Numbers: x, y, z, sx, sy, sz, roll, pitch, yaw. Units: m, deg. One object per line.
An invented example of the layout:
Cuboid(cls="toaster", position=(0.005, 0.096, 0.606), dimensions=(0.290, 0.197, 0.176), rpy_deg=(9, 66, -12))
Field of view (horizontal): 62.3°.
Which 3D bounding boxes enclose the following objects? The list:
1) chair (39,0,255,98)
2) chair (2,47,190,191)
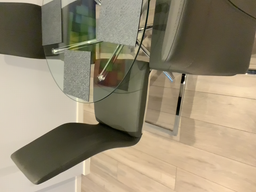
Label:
Cuboid(cls="chair", position=(0.270, -0.310, 0.870), dimensions=(0.530, 1.040, 0.460), rpy_deg=(16, 105, 42))
Cuboid(cls="chair", position=(-0.120, 0.050, 1.290), dimensions=(0.450, 1.020, 0.560), rpy_deg=(17, 106, 42))
